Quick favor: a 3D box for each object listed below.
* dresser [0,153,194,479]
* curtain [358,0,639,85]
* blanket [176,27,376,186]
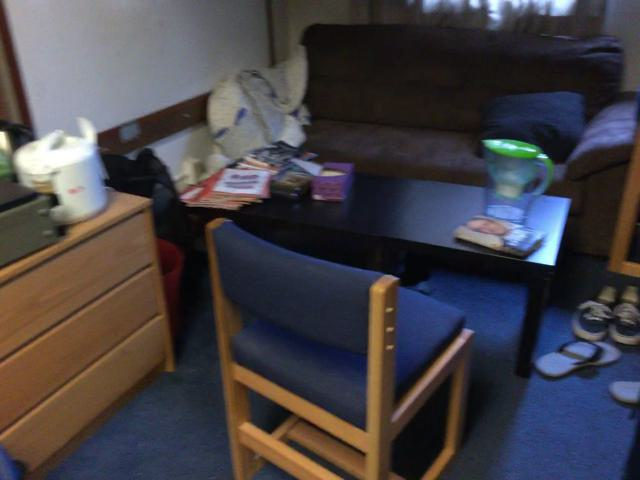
[{"bbox_3d":[-0.900,0.220,1.750,0.600,0.750,0.760,9,25,24],"label":"dresser"},{"bbox_3d":[1.170,-1.430,2.800,1.950,1.230,0.430,9,25,24],"label":"curtain"},{"bbox_3d":[-0.170,-0.800,3.200,0.610,0.660,1.080,9,25,24],"label":"blanket"}]
